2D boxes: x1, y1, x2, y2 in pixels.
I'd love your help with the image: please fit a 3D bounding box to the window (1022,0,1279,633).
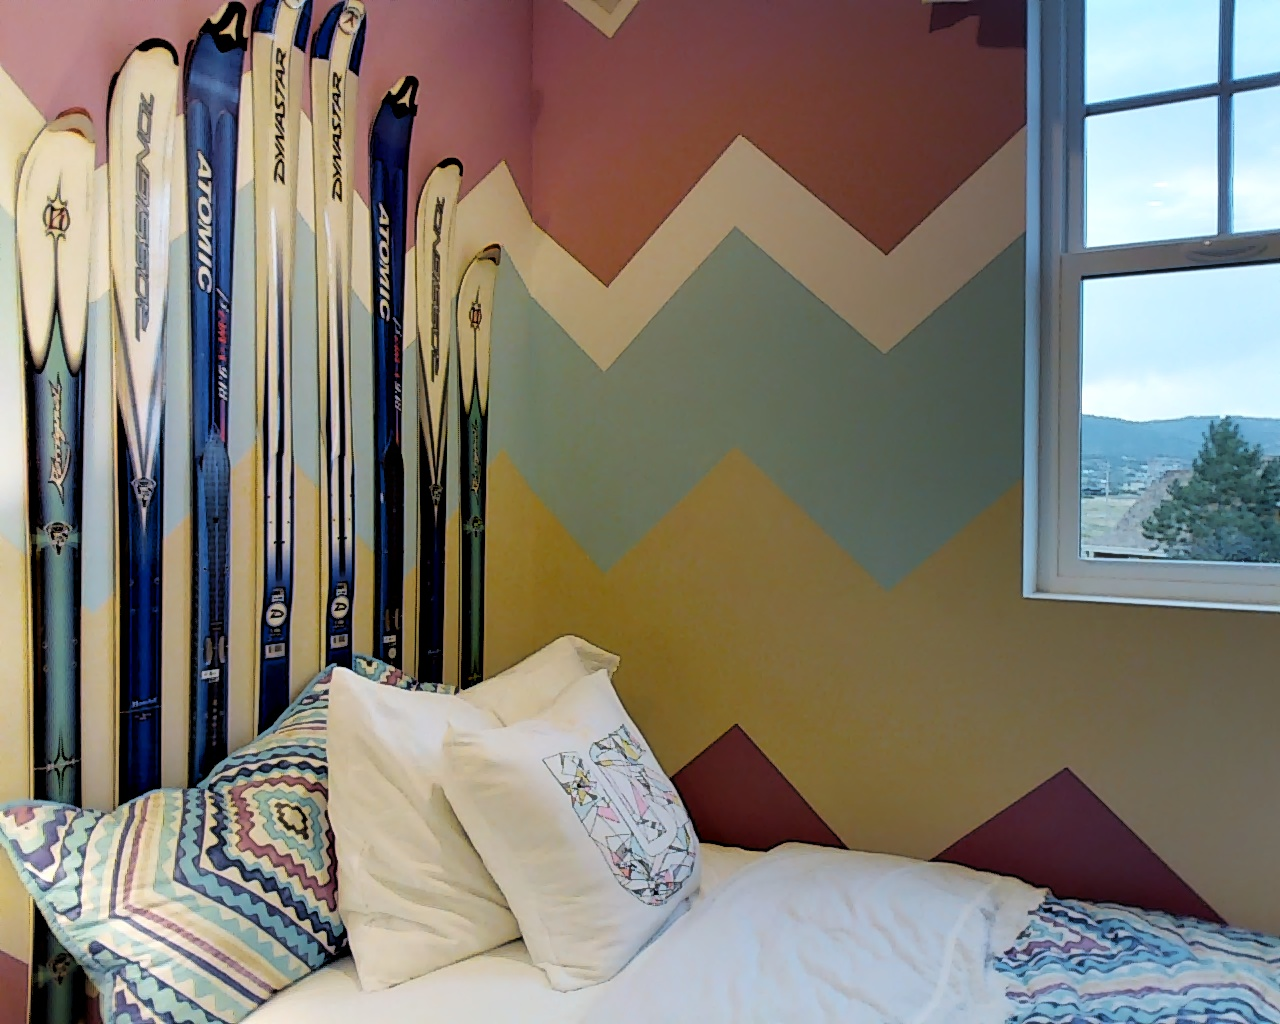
[{"bbox_3d":[0.960,-0.400,1.720,0.600,1.160,0.220,1,0,31],"label":"window"}]
